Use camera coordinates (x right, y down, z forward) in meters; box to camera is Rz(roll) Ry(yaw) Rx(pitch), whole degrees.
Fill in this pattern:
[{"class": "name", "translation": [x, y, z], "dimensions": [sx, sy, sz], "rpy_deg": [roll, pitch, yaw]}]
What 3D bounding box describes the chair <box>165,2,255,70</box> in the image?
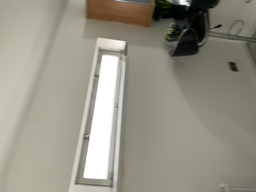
[{"class": "chair", "translation": [1.040, -0.650, 2.380], "dimensions": [0.420, 1.150, 0.420], "rpy_deg": [105, 169, -58]}]
